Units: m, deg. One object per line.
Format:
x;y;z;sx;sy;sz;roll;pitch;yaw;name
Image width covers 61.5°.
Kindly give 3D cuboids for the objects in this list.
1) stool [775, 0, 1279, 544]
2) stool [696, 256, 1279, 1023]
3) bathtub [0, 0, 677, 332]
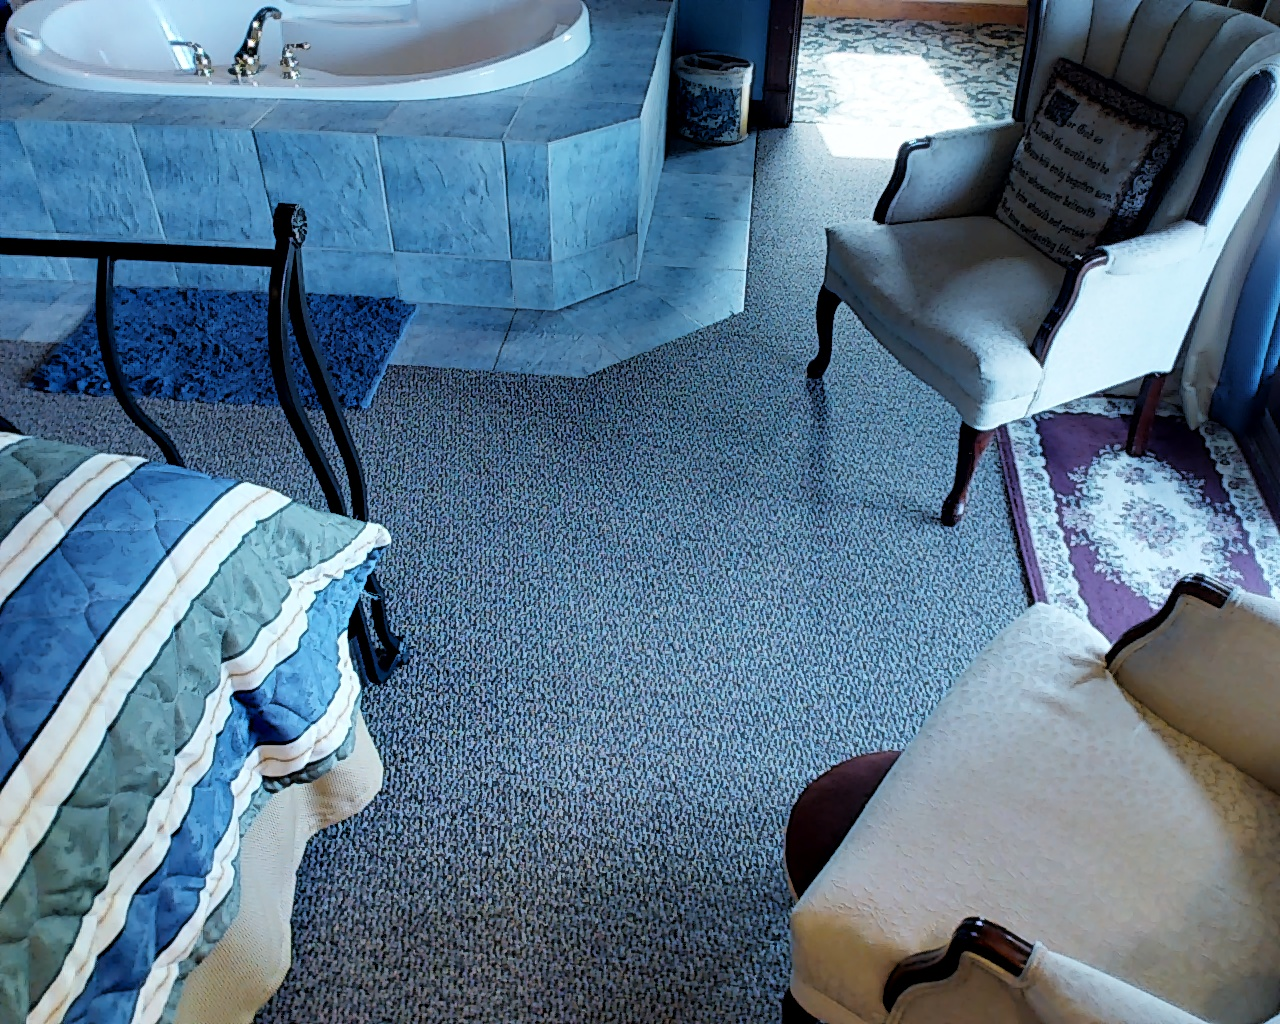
0.860;-0.620;2.400;0.760;0.980;0.750;-14;44;-17;stool
0.630;0.380;1.230;0.780;0.900;0.770;31;49;30;stool
-1.180;-1.310;3.430;2.470;0.660;1.370;5;41;4;bathtub
